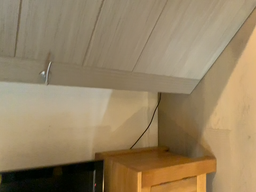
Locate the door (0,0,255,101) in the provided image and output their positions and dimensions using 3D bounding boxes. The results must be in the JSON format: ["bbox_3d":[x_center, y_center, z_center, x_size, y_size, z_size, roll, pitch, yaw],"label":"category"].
[{"bbox_3d":[-0.180,-0.350,0.770,0.890,2.070,0.050,-62,41,33],"label":"door"}]
